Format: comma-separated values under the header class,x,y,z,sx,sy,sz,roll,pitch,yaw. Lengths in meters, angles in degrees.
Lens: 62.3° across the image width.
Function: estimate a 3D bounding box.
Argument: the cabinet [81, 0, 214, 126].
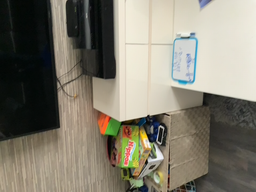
class,x,y,z,sx,sy,sz,roll,pitch,yaw
cabinet,0.140,-0.600,1.490,0.500,0.780,1.400,14,108,55
